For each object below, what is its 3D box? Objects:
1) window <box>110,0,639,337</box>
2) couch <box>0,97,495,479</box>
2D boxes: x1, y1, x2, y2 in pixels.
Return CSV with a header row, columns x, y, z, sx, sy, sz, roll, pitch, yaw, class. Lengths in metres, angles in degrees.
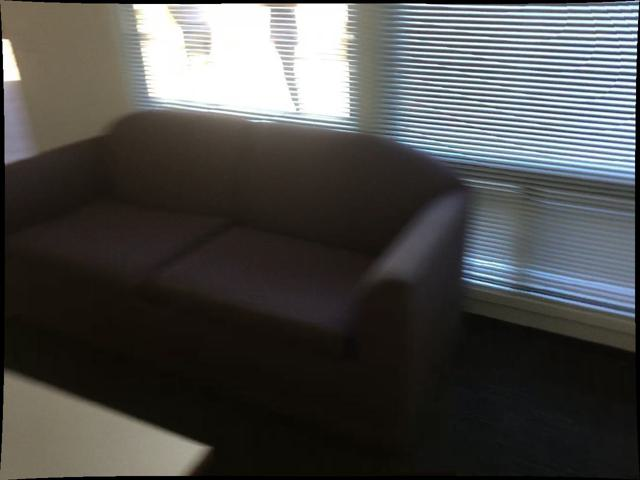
x,y,z,sx,sy,sz,roll,pitch,yaw,class
0.270,-0.791,2.110,2.417,1.993,0.290,12,29,23,window
-0.359,0.010,2.260,1.788,0.781,0.930,12,29,23,couch
